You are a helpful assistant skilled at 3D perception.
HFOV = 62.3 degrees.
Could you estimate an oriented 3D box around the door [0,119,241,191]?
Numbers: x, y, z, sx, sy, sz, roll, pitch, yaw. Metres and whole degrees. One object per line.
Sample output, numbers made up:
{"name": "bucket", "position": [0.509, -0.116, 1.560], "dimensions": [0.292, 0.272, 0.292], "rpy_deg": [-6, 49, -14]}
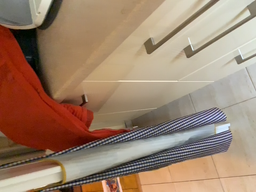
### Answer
{"name": "door", "position": [-0.530, 0.260, 0.720], "dimensions": [0.920, 1.990, 0.120], "rpy_deg": [-10, 85, 50]}
